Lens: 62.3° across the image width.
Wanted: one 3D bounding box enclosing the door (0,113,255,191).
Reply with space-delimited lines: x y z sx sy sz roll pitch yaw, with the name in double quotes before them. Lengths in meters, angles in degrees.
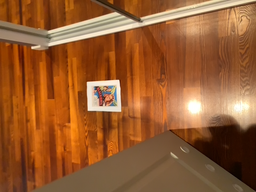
"door" -0.050 0.470 0.110 1.000 2.080 0.130 38 111 26
